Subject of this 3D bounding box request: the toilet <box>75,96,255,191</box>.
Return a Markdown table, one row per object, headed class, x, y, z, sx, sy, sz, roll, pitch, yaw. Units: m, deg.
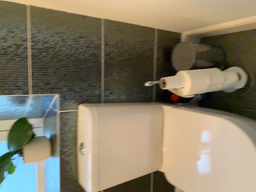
| class | x | y | z | sx | sy | sz | roll | pitch | yaw |
| --- | --- | --- | --- | --- | --- | --- | --- | --- | --- |
| toilet | 0.280 | 0.250 | 0.960 | 0.640 | 0.850 | 0.400 | 12 | 102 | 57 |
